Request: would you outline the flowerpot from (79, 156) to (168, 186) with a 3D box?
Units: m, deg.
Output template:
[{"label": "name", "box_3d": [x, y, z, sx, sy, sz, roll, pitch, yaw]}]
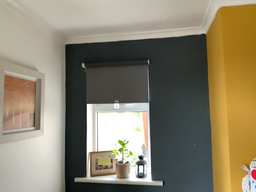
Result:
[{"label": "flowerpot", "box_3d": [-0.030, 0.730, 2.100, 0.790, 0.160, 0.430, -1, -3, 5]}]
